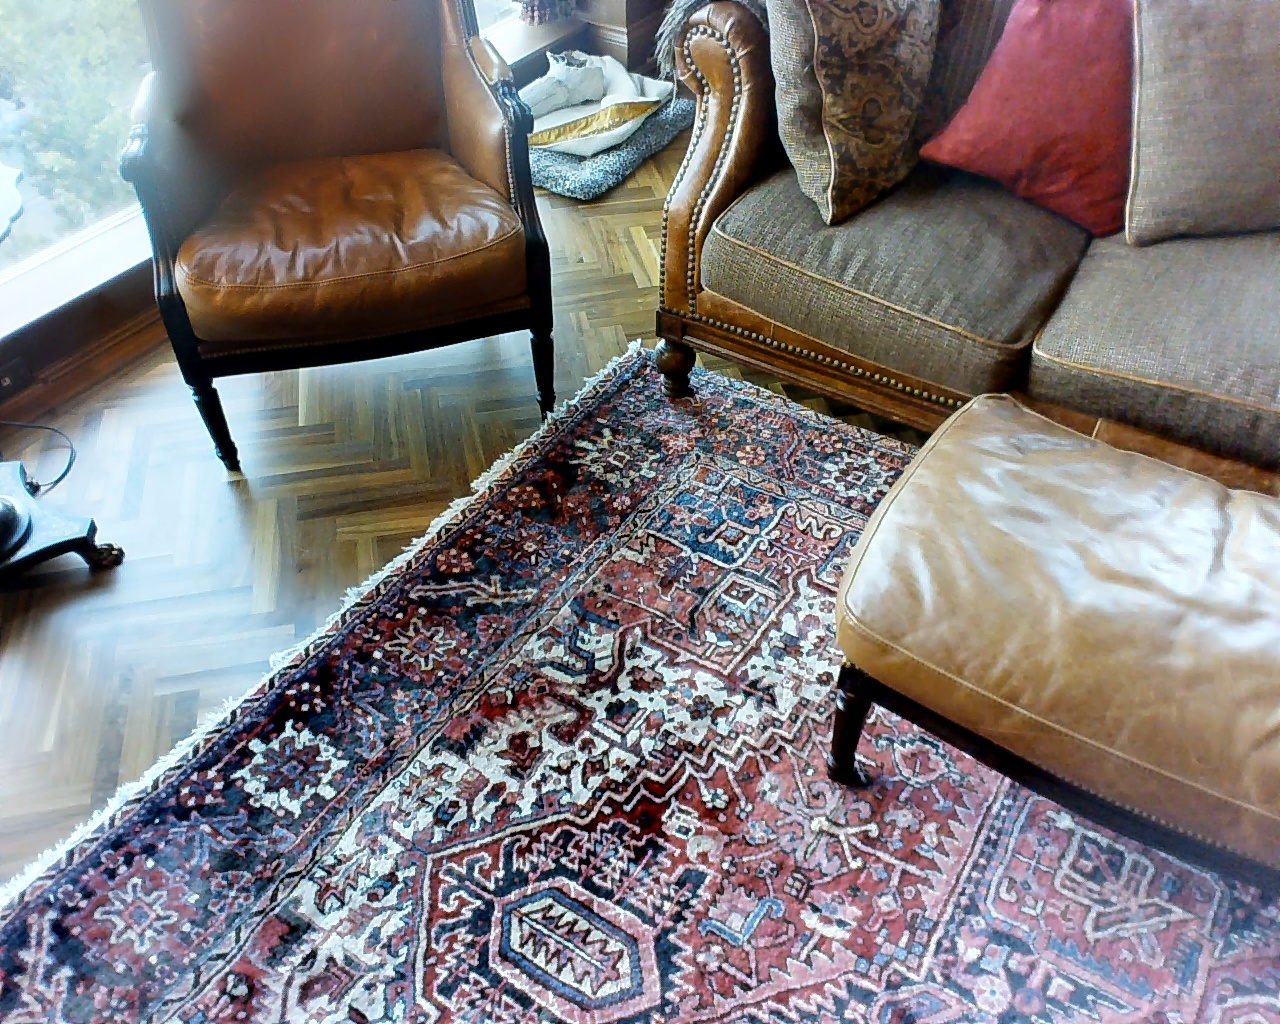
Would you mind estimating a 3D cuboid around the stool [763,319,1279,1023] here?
[{"bbox_3d":[0.730,0.210,1.540,0.840,0.470,0.690,24,49,23],"label":"stool"}]

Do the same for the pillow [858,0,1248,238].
[{"bbox_3d":[0.720,-0.810,1.910,0.360,0.520,0.200,37,54,-13],"label":"pillow"}]

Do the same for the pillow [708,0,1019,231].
[{"bbox_3d":[0.440,-0.920,1.980,0.350,0.500,0.600,24,49,23],"label":"pillow"}]

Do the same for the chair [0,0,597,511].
[{"bbox_3d":[-0.620,-0.810,2.160,0.830,1.140,0.960,-11,45,-11],"label":"chair"}]
